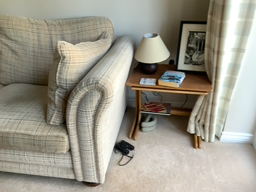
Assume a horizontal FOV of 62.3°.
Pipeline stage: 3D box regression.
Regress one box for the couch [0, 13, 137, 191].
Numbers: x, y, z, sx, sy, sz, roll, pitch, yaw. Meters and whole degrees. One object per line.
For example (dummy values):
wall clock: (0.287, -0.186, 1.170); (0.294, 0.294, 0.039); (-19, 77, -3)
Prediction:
couch: (-0.990, -0.090, 1.570); (2.000, 0.860, 0.970); (4, 28, 8)
